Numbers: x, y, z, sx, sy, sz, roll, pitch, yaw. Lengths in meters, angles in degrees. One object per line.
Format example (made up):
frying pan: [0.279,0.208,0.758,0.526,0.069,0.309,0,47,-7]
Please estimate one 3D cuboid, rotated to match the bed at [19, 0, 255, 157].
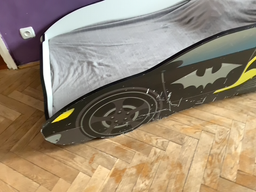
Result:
bed: [0.280,-0.370,1.320,1.620,0.500,0.850,-16,47,-10]
